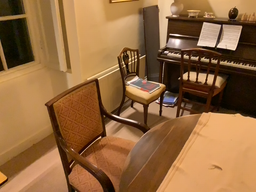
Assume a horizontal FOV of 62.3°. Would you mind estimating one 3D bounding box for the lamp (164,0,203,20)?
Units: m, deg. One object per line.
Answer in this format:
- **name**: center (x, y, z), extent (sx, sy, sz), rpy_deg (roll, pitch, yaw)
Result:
- **lamp**: center (0.750, -1.280, 2.800), extent (0.360, 0.450, 0.450), rpy_deg (17, 32, 29)
